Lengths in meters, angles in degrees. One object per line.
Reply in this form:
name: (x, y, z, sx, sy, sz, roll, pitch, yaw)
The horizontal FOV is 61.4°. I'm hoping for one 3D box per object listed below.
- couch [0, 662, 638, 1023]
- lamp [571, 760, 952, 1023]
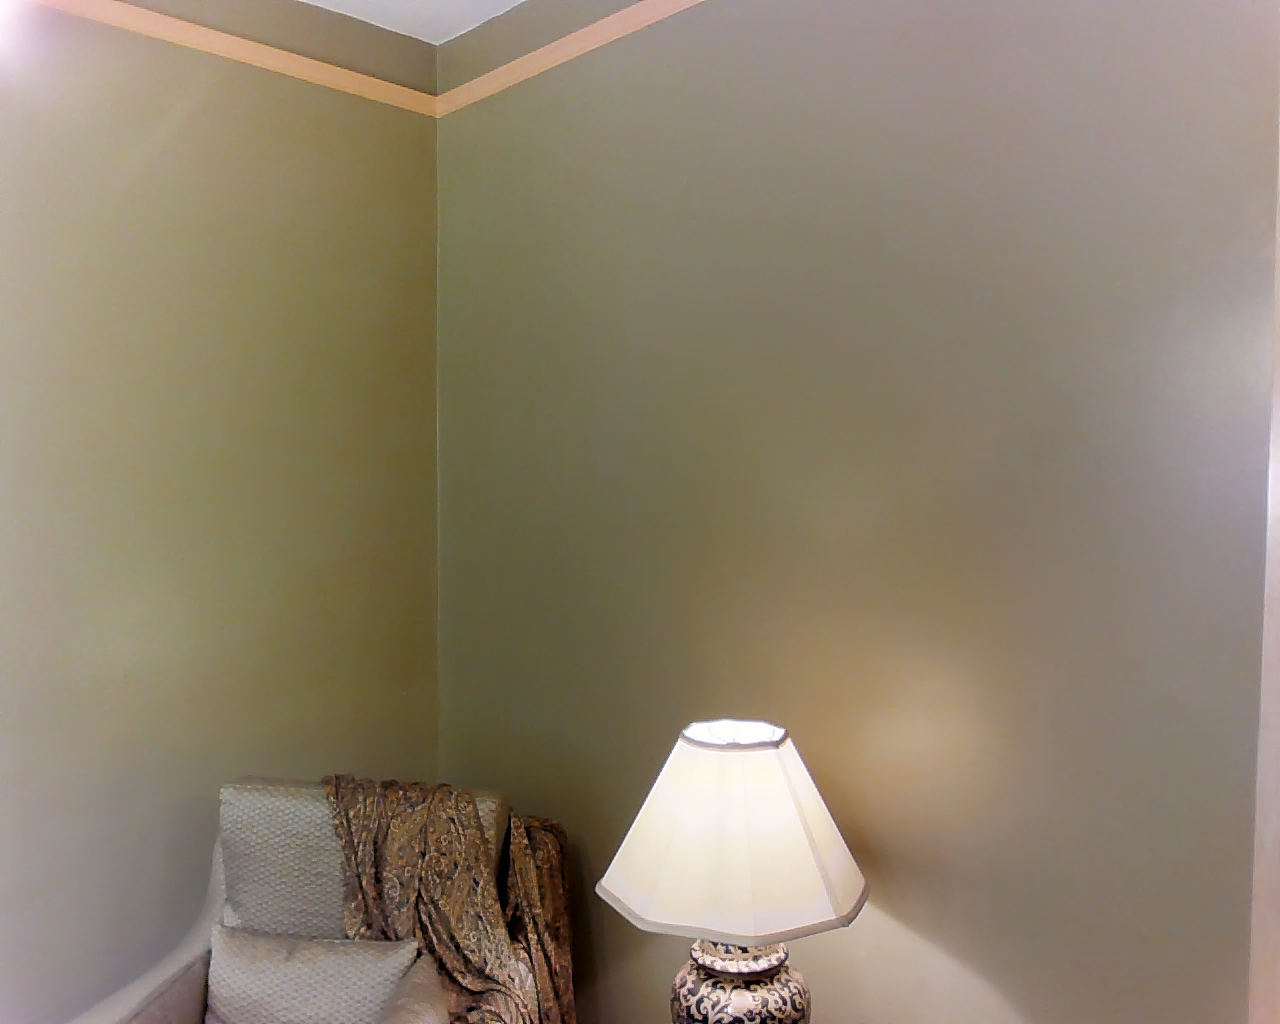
couch: (-0.570, 0.950, 1.980, 0.940, 1.170, 1.020, 0, 1, 12)
lamp: (0.180, 0.710, 1.700, 0.500, 0.520, 0.330, 0, 1, -21)
